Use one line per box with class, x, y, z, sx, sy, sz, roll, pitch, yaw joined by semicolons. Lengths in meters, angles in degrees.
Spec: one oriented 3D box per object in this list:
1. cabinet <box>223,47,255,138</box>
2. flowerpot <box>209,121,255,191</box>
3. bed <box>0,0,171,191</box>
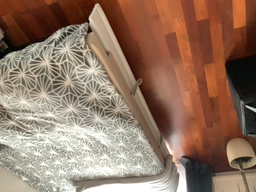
cabinet;0.890;-0.040;1.400;0.370;0.440;0.370;-13;133;18
flowerpot;1.000;0.900;1.820;0.310;1.360;0.420;-7;135;13
bed;-0.760;0.380;1.960;1.930;0.460;1.940;-11;134;16
